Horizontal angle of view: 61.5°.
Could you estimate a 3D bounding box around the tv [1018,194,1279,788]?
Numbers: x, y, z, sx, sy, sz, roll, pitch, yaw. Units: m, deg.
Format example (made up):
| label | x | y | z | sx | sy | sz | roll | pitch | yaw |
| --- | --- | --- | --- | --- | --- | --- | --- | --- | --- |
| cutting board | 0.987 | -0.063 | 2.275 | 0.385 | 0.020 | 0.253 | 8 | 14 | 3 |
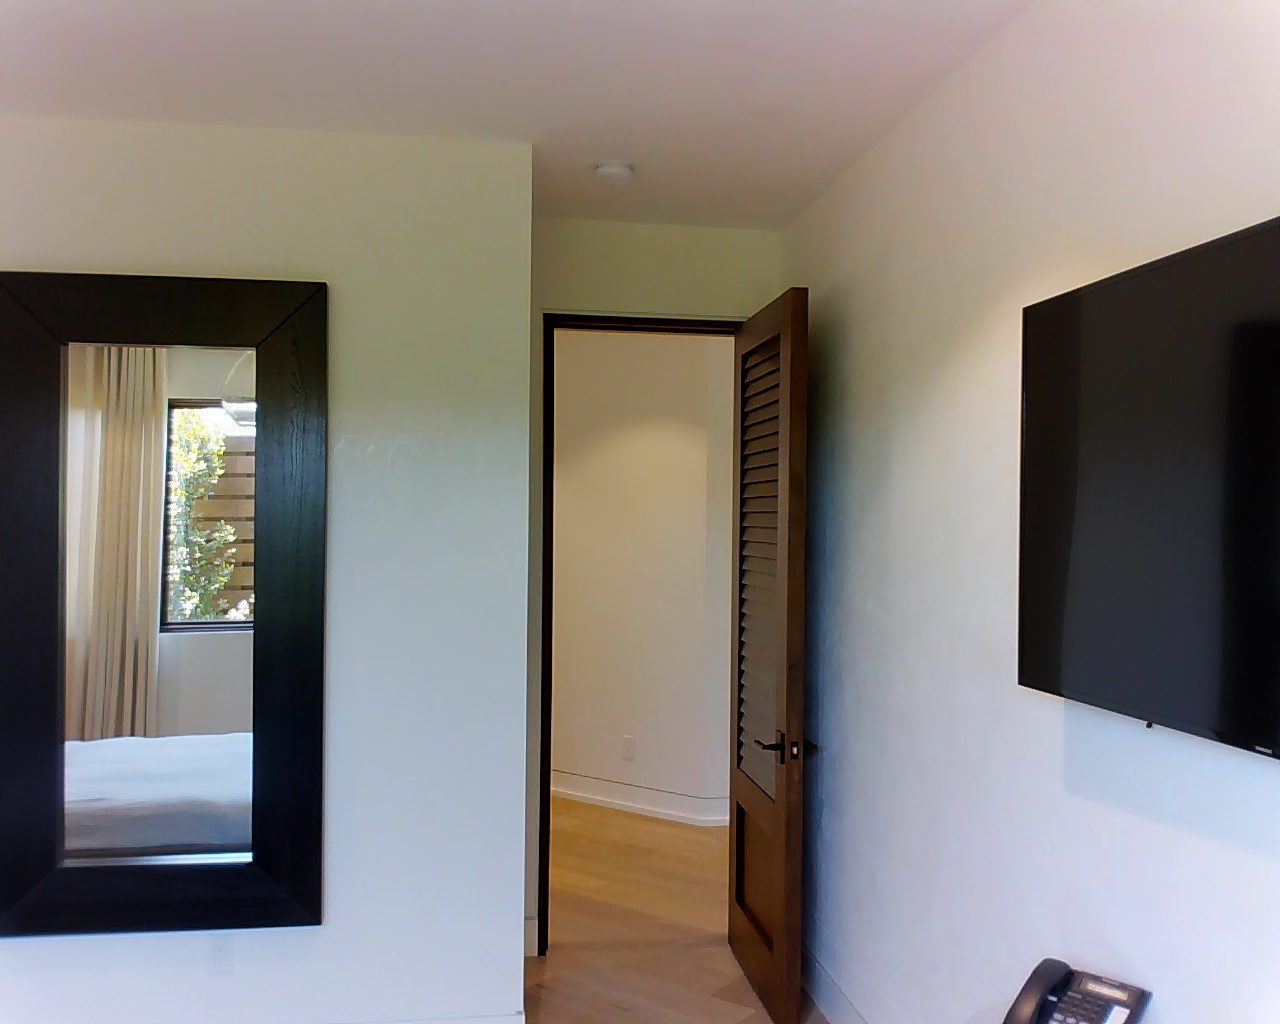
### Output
| label | x | y | z | sx | sy | sz | roll | pitch | yaw |
| --- | --- | --- | --- | --- | --- | --- | --- | --- | --- |
| tv | 0.940 | -0.030 | 1.530 | 0.100 | 0.830 | 1.340 | 1 | 0 | -10 |
